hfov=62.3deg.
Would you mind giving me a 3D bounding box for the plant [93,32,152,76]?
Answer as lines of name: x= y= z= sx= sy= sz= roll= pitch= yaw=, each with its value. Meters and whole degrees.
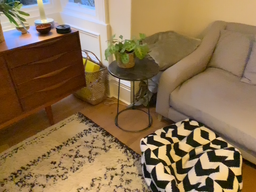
plant: x=-0.040 y=-0.350 z=1.680 sx=0.320 sy=0.180 sz=0.320 roll=30 pitch=44 yaw=35
